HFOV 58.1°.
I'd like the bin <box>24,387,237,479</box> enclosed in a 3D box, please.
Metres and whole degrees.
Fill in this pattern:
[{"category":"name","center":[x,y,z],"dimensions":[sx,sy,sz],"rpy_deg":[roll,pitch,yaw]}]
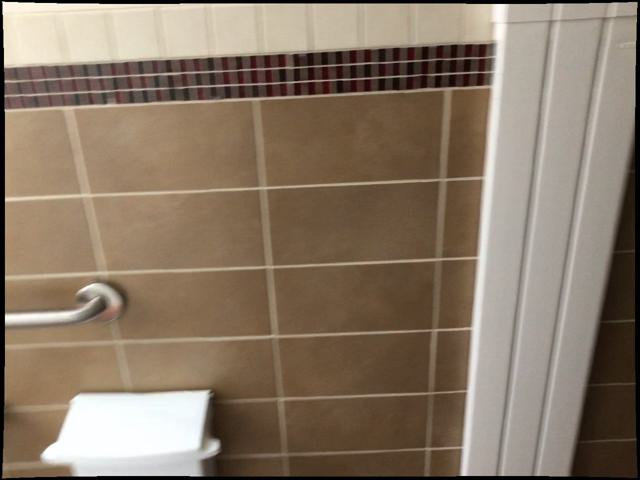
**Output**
[{"category":"bin","center":[-0.369,0.501,1.210],"dimensions":[0.349,0.351,0.130],"rpy_deg":[-4,25,3]}]
